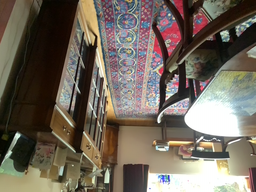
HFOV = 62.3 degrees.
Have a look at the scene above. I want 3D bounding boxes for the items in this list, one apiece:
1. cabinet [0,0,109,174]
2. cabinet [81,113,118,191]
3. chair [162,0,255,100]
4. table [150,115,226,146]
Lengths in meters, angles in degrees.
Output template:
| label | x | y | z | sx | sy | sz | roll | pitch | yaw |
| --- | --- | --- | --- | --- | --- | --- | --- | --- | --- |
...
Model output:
| label | x | y | z | sx | sy | sz | roll | pitch | yaw |
| --- | --- | --- | --- | --- | --- | --- | --- | --- | --- |
| cabinet | -0.520 | 0.120 | 2.250 | 0.370 | 1.120 | 2.180 | 1 | 154 | 1 |
| cabinet | -0.490 | 1.240 | 3.800 | 0.490 | 1.810 | 0.490 | 2 | 154 | 1 |
| chair | 0.510 | -0.530 | 1.100 | 0.430 | 0.890 | 0.550 | -20 | 146 | 38 |
| table | 1.090 | 0.660 | 4.060 | 1.290 | 0.440 | 0.480 | 1 | 154 | 2 |
